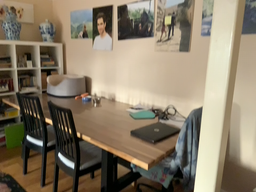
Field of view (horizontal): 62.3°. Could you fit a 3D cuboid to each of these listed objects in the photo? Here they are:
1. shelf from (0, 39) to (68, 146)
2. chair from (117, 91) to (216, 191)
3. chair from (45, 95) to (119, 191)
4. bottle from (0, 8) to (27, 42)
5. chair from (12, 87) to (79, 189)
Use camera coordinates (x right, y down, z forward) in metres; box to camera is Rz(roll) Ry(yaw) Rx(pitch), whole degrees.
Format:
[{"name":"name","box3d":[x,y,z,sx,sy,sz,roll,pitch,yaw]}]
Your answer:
[{"name":"shelf","box3d":[-1.740,-0.090,3.240,0.440,1.480,1.550,13,16,41]},{"name":"chair","box3d":[0.300,0.530,1.780,0.560,1.020,0.540,12,15,39]},{"name":"chair","box3d":[-0.420,0.510,1.950,0.480,0.940,0.430,-9,16,-42]},{"name":"bottle","box3d":[-1.700,-1.010,3.070,0.350,0.410,0.290,13,16,42]},{"name":"chair","box3d":[-0.890,0.410,2.360,0.460,0.920,0.490,10,14,34]}]
